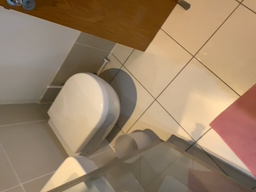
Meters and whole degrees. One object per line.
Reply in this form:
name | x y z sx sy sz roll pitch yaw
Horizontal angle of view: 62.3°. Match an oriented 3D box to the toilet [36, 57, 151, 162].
toilet | -0.240 0.090 1.520 0.370 0.490 0.560 50 115 20
